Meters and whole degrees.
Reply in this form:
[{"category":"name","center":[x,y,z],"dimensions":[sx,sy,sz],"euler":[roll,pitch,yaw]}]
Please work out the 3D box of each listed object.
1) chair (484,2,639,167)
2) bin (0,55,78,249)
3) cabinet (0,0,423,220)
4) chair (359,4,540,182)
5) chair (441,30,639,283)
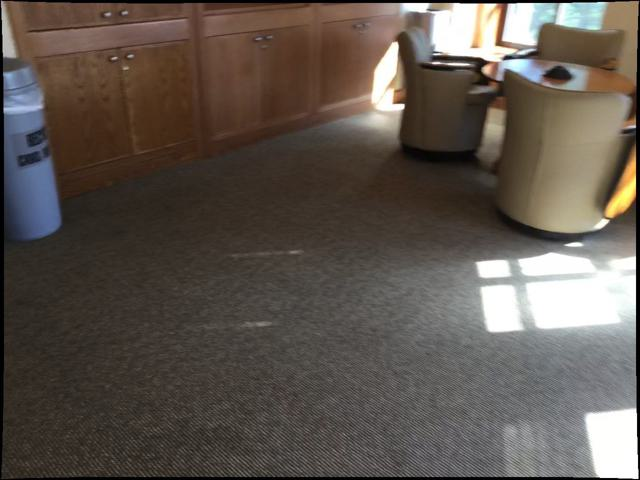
[{"category":"chair","center":[1.736,-1.103,3.960],"dimensions":[0.779,0.801,0.769],"euler":[27,40,32]},{"category":"bin","center":[-1.476,-0.421,2.780],"dimensions":[0.280,0.811,0.360],"euler":[30,41,35]},{"category":"cabinet","center":[-0.499,-1.463,3.880],"dimensions":[0.580,1.573,3.207],"euler":[30,41,35]},{"category":"chair","center":[0.838,-1.012,3.820],"dimensions":[0.769,0.821,0.830],"euler":[24,38,29]},{"category":"chair","center":[1.147,-0.441,2.740],"dimensions":[0.749,0.841,0.679],"euler":[30,41,35]}]
